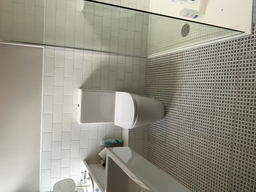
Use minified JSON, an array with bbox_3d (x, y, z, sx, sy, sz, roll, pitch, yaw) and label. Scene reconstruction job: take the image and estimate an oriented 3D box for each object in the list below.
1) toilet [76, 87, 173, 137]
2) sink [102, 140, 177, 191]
[{"bbox_3d":[-0.070,0.130,2.230,0.660,0.810,0.380,-166,78,-65],"label":"toilet"},{"bbox_3d":[0.020,0.570,1.180,0.560,0.160,0.510,-172,84,-66],"label":"sink"}]
